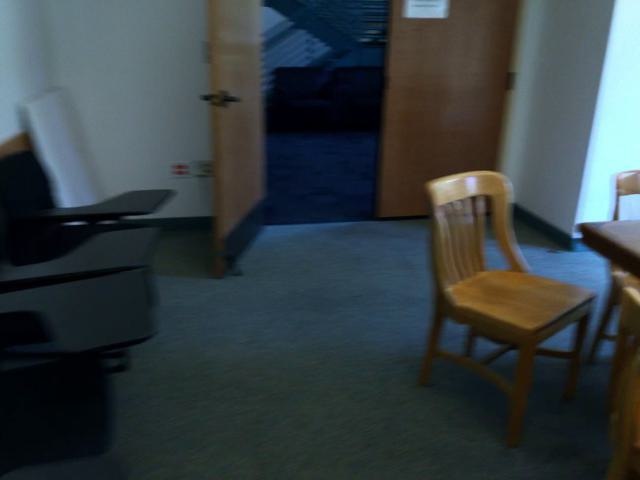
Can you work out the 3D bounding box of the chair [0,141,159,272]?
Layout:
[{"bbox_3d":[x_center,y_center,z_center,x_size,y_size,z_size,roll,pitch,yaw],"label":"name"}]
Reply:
[{"bbox_3d":[-1.040,-0.160,2.450,0.600,0.410,0.440,-5,20,-7],"label":"chair"}]

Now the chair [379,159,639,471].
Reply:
[{"bbox_3d":[0.670,0.200,2.130,0.660,0.830,0.610,14,25,40],"label":"chair"}]

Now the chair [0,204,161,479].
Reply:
[{"bbox_3d":[-0.800,0.280,1.460,0.640,0.540,0.650,-5,20,-7],"label":"chair"}]
